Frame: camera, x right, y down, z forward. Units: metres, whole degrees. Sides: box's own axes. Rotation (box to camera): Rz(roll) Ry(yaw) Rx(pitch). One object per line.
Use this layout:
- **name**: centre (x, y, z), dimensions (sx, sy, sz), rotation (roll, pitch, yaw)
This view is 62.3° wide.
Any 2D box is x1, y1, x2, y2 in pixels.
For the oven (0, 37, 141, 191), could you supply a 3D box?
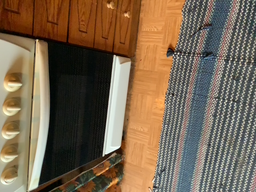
- **oven**: centre (-0.390, 0.020, 1.110), dimensions (0.610, 0.670, 0.530), rotation (11, 99, 30)
